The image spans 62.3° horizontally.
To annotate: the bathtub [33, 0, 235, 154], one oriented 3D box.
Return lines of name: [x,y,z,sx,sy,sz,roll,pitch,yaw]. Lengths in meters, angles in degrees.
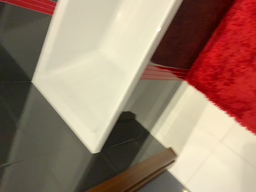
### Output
bathtub: [0.130,-0.600,1.180,0.700,0.570,1.670,40,115,28]
